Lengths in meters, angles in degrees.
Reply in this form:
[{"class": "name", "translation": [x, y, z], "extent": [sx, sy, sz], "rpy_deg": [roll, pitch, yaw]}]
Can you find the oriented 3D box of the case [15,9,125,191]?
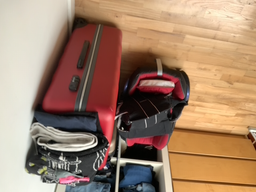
[{"class": "case", "translation": [-0.230, -0.020, 1.160], "extent": [0.330, 0.840, 0.520], "rpy_deg": [7, 134, -6]}]
